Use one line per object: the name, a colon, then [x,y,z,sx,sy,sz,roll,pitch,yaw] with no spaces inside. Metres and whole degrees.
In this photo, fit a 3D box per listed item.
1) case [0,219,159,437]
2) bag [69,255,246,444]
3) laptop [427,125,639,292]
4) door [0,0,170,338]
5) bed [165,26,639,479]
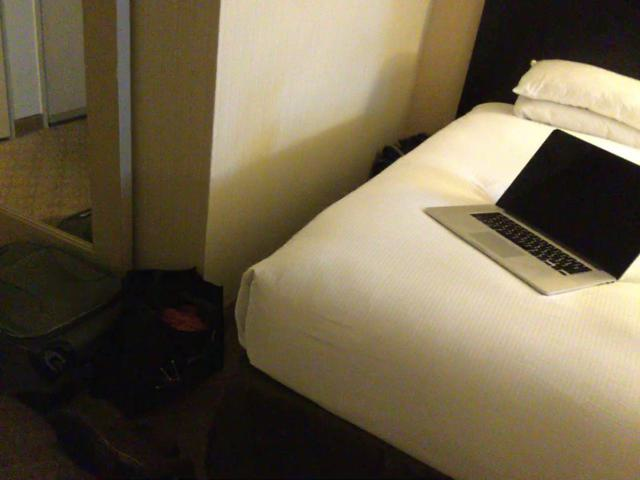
case: [-0.860,0.210,1.670,0.660,0.310,0.380,15,26,23]
bag: [-0.430,0.280,1.590,0.330,0.320,0.310,15,26,23]
laptop: [0.520,-0.100,1.280,0.410,0.210,0.370,-14,24,-28]
door: [-0.910,-0.680,1.560,1.070,1.770,0.150,15,26,23]
bed: [0.930,-0.010,1.660,1.580,1.070,2.110,10,24,24]
